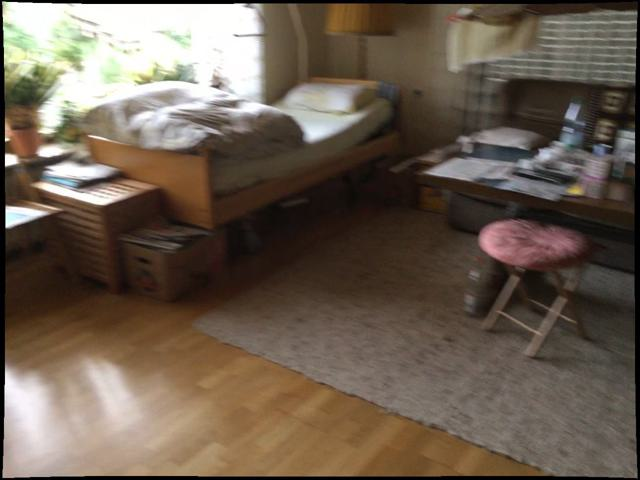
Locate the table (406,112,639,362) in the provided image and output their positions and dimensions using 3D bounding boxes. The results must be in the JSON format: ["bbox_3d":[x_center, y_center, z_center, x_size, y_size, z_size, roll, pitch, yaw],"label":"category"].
[{"bbox_3d":[1.309,-0.040,2.580,1.609,0.731,0.800,17,29,34],"label":"table"}]

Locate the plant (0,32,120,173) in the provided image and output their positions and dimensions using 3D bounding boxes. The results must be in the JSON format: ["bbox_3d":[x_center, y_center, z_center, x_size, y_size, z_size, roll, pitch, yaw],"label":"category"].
[{"bbox_3d":[-1.608,-0.771,3.150,0.410,0.611,0.810,17,29,34],"label":"plant"}]

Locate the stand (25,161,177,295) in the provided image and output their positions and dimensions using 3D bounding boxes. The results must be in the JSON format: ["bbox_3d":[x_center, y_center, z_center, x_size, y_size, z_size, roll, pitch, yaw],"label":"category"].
[{"bbox_3d":[-1.169,-0.090,3.100,0.670,0.480,0.390,17,29,34],"label":"stand"}]
